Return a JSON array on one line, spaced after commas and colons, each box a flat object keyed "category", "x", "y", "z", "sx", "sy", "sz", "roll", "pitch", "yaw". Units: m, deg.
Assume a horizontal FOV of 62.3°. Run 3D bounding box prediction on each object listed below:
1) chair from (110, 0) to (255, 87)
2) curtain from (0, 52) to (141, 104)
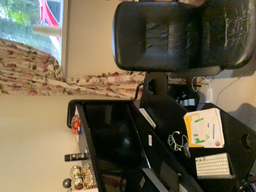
[{"category": "chair", "x": 0.550, "y": -0.430, "z": 1.470, "sx": 0.720, "sy": 1.170, "sz": 0.710, "roll": -170, "pitch": 82, "yaw": -69}, {"category": "curtain", "x": -0.650, "y": -0.160, "z": 2.200, "sx": 0.150, "sy": 1.560, "sz": 0.470, "roll": -126, "pitch": 42, "yaw": -57}]
